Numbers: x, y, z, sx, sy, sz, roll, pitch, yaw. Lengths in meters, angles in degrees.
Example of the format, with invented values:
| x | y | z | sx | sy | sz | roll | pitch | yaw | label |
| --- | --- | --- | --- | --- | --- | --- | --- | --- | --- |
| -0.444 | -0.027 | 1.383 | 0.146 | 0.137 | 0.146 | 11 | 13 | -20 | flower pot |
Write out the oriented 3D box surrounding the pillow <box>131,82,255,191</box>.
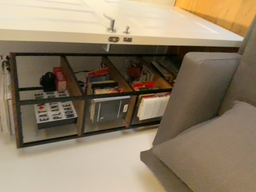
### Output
| x | y | z | sx | sy | sz | roll | pitch | yaw | label |
| --- | --- | --- | --- | --- | --- | --- | --- | --- | --- |
| 0.440 | 0.290 | 0.870 | 0.240 | 0.570 | 0.700 | -58 | 39 | 16 | pillow |
